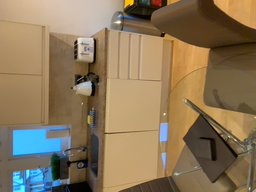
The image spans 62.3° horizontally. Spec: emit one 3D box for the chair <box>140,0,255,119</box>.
[{"bbox_3d":[0.640,-0.200,1.300,0.450,1.010,0.560,15,103,63],"label":"chair"}]

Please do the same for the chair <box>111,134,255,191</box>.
[{"bbox_3d":[0.470,0.690,1.630,0.440,1.020,0.570,-121,40,-47],"label":"chair"}]

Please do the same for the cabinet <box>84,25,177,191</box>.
[{"bbox_3d":[-0.010,0.420,2.710,0.640,0.900,2.320,10,99,63],"label":"cabinet"}]
